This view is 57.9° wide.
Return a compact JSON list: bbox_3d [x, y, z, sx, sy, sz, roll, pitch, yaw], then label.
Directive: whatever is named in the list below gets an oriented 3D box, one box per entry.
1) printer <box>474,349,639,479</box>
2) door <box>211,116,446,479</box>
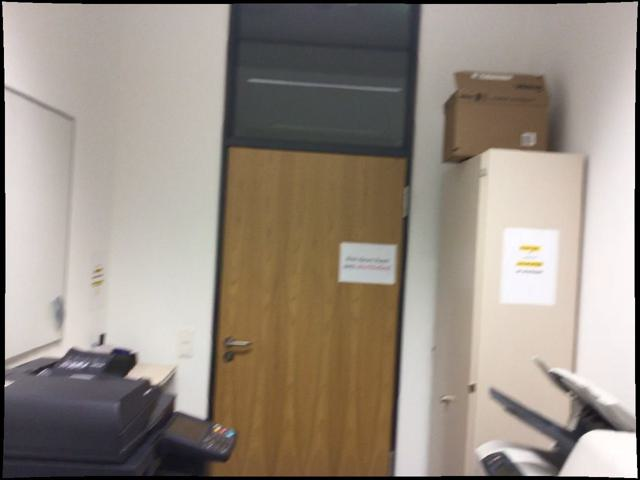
[{"bbox_3d":[0.749,0.651,1.410,0.579,0.601,0.630,4,1,2],"label":"printer"},{"bbox_3d":[0.030,0.490,3.020,1.079,2.162,0.140,4,1,-4],"label":"door"}]
